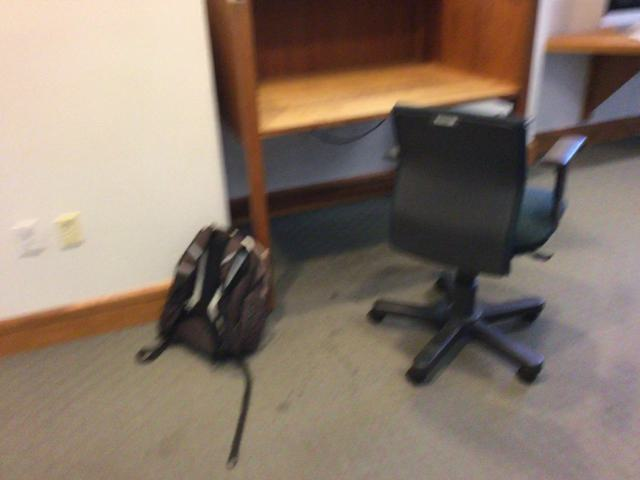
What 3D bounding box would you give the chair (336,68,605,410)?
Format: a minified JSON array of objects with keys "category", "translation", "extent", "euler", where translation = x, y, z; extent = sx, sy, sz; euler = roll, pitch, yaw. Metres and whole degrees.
[{"category":"chair","translation":[0.520,-0.060,1.990],"extent":[0.650,0.910,0.620],"euler":[11,31,29]}]
